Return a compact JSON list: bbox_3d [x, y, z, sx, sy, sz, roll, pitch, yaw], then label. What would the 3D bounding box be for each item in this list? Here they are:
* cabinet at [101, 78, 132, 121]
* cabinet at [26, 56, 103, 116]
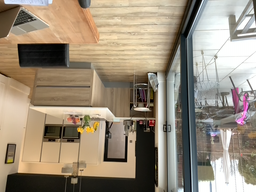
[{"bbox_3d":[-0.260,0.120,5.370,0.650,0.940,0.890,1,167,3],"label":"cabinet"},{"bbox_3d":[-1.180,-0.140,4.370,1.090,0.920,1.260,1,167,3],"label":"cabinet"}]
